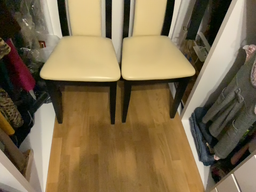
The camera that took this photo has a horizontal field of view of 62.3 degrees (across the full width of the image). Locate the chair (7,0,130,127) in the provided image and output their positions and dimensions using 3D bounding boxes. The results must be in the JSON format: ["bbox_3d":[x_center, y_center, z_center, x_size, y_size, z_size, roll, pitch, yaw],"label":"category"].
[{"bbox_3d":[-0.290,-0.350,1.290,0.460,1.050,0.590,-2,51,-8],"label":"chair"}]

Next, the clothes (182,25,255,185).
[{"bbox_3d":[0.610,0.100,1.110,0.300,0.790,0.430,-4,51,-11],"label":"clothes"}]

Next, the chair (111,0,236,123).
[{"bbox_3d":[0.160,-0.370,1.360,0.460,1.060,0.580,-2,51,-8],"label":"chair"}]
